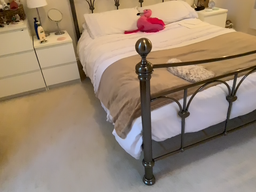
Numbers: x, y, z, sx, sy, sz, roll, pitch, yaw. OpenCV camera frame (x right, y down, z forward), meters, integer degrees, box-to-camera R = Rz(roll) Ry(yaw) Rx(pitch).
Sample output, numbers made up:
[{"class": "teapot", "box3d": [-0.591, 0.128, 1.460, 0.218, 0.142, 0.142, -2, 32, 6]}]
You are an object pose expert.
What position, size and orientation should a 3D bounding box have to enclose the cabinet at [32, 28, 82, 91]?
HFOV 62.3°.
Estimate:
[{"class": "cabinet", "box3d": [-0.880, -0.470, 2.620, 0.410, 0.540, 0.540, -16, 34, -16]}]
